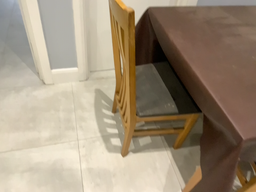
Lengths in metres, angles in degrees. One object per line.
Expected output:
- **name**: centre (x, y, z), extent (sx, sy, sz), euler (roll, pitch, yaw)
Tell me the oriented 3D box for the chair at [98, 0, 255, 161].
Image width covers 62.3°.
- **chair**: centre (0.160, -0.140, 1.270), extent (0.600, 1.040, 0.540), euler (-5, 49, -13)
